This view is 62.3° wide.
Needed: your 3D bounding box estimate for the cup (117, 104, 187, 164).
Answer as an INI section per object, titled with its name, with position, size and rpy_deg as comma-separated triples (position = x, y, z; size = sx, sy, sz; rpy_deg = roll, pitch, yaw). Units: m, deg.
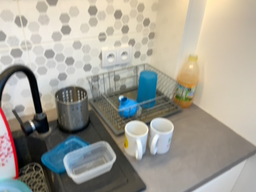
[cup]
position = 0.080, 0.130, 0.780
size = 0.190, 0.090, 0.160
rpy_deg = -13, 36, -25
